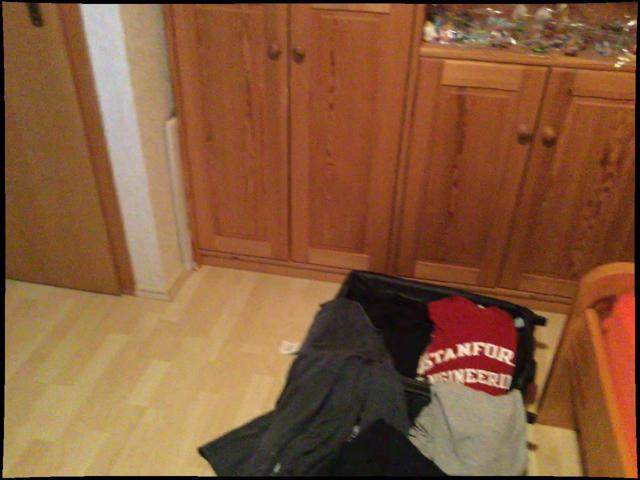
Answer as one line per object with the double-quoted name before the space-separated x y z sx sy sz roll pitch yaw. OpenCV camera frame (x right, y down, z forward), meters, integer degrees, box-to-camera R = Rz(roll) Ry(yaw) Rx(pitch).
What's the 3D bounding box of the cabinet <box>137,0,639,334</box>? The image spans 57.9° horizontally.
"cabinet" 0.729 -0.310 1.800 2.458 1.201 0.340 6 35 9
